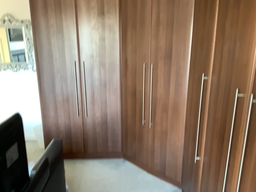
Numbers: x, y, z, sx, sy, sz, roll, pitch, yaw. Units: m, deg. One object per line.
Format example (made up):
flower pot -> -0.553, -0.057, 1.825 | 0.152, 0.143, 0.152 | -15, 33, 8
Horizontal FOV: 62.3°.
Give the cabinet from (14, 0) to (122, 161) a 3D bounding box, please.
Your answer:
cabinet -> -0.660, -0.370, 2.830 | 1.150, 2.310, 0.730 | 0, 15, -2
